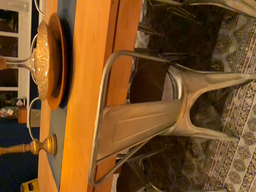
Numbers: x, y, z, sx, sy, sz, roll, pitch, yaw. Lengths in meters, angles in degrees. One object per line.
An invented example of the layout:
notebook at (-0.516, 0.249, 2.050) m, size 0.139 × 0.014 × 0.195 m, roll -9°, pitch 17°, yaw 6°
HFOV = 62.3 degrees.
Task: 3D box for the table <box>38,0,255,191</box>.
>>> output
table at (-0.030, -0.140, 1.320) m, size 1.090 × 0.760 × 2.230 m, roll 34°, pitch 119°, yaw 53°
